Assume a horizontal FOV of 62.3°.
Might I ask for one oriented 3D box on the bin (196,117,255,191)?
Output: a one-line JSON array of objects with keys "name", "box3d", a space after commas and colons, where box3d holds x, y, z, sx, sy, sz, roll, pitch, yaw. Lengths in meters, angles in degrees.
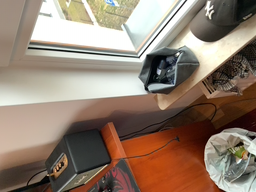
[{"name": "bin", "box3d": [0.580, 0.300, 1.070, 0.270, 0.250, 0.280, -43, 63, 41]}]
